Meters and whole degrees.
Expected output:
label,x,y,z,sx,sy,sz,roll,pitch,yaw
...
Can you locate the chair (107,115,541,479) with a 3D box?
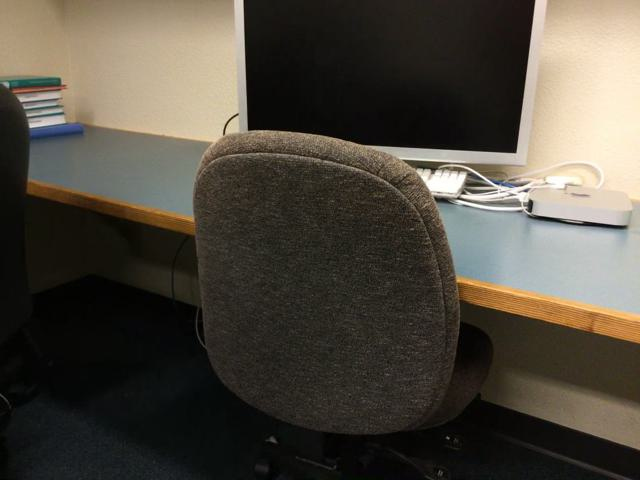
label,x,y,z,sx,sy,sz,roll,pitch,yaw
chair,0.030,0.260,1.150,0.570,0.970,0.550,9,16,32
